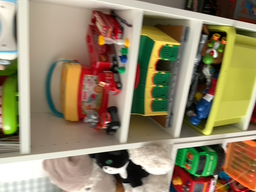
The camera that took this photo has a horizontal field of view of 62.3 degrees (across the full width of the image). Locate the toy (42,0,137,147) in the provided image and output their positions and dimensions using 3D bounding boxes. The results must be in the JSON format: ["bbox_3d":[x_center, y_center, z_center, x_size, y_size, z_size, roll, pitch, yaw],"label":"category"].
[{"bbox_3d":[-0.140,-0.070,0.650,0.210,0.210,0.370,-141,56,-59],"label":"toy"}]
